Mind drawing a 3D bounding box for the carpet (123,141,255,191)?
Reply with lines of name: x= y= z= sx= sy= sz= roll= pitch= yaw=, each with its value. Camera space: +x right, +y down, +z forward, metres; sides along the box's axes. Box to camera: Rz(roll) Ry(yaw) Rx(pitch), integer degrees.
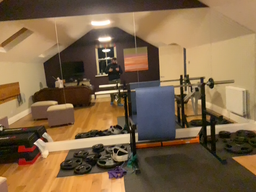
carpet: x=0.730 y=0.990 z=2.660 sx=1.510 sy=0.090 sz=1.840 roll=-4 pitch=8 yaw=-3
